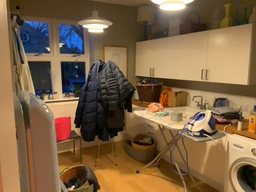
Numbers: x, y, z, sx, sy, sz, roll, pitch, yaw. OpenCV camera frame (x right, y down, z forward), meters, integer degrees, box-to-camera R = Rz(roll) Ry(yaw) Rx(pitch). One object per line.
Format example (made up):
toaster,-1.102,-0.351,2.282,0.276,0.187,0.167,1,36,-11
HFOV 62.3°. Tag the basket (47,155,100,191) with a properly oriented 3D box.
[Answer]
basket,-0.670,1.040,2.550,0.480,0.350,0.620,-5,10,-28

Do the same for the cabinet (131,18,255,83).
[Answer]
cabinet,0.860,-0.670,3.510,0.450,0.710,2.440,-5,10,-29

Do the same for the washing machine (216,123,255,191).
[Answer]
washing machine,1.480,0.820,2.280,0.790,0.870,0.590,-5,10,-29
